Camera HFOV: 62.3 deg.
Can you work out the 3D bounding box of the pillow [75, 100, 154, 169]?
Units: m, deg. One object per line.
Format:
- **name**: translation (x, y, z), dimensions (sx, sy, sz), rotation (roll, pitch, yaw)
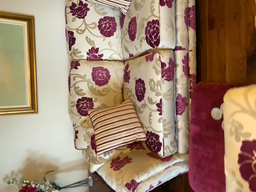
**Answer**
- **pillow**: translation (-0.100, 0.270, 1.690), dimensions (0.470, 0.390, 0.200), rotation (43, 112, 22)
